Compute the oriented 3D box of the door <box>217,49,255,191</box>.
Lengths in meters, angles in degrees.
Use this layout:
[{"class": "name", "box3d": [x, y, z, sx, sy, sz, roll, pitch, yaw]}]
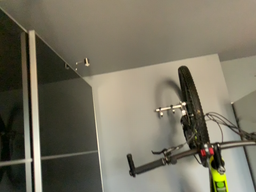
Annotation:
[{"class": "door", "box3d": [1.030, 0.830, 1.480, 0.090, 2.240, 0.600, -9, -13, 2]}]
